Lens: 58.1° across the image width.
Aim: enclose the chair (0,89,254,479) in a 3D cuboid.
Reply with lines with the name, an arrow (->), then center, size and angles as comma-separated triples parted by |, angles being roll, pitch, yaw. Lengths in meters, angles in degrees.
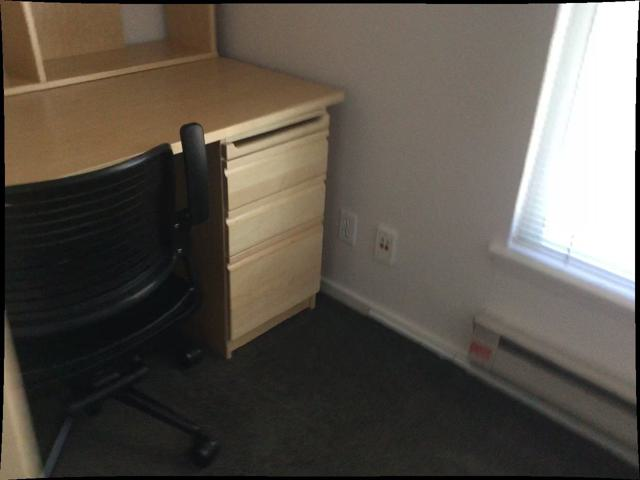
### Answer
chair -> -0.549, 0.170, 1.330 | 0.490, 0.821, 0.610 | 28, 39, 36
